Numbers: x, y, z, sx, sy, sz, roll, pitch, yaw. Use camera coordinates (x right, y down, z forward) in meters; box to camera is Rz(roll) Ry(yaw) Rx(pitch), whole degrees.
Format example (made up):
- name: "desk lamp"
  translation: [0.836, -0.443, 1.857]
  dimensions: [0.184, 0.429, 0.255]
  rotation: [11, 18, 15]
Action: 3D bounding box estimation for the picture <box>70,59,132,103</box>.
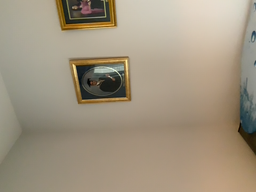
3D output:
- name: "picture"
  translation: [-0.160, -0.090, 1.350]
  dimensions: [0.030, 0.360, 0.290]
  rotation: [-88, -4, -58]
